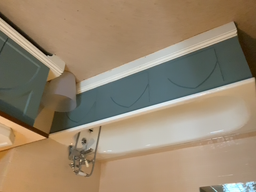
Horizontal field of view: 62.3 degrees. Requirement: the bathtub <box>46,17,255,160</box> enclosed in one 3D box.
[{"bbox_3d":[0.200,0.090,1.960,1.660,0.530,0.810,-17,142,24],"label":"bathtub"}]
